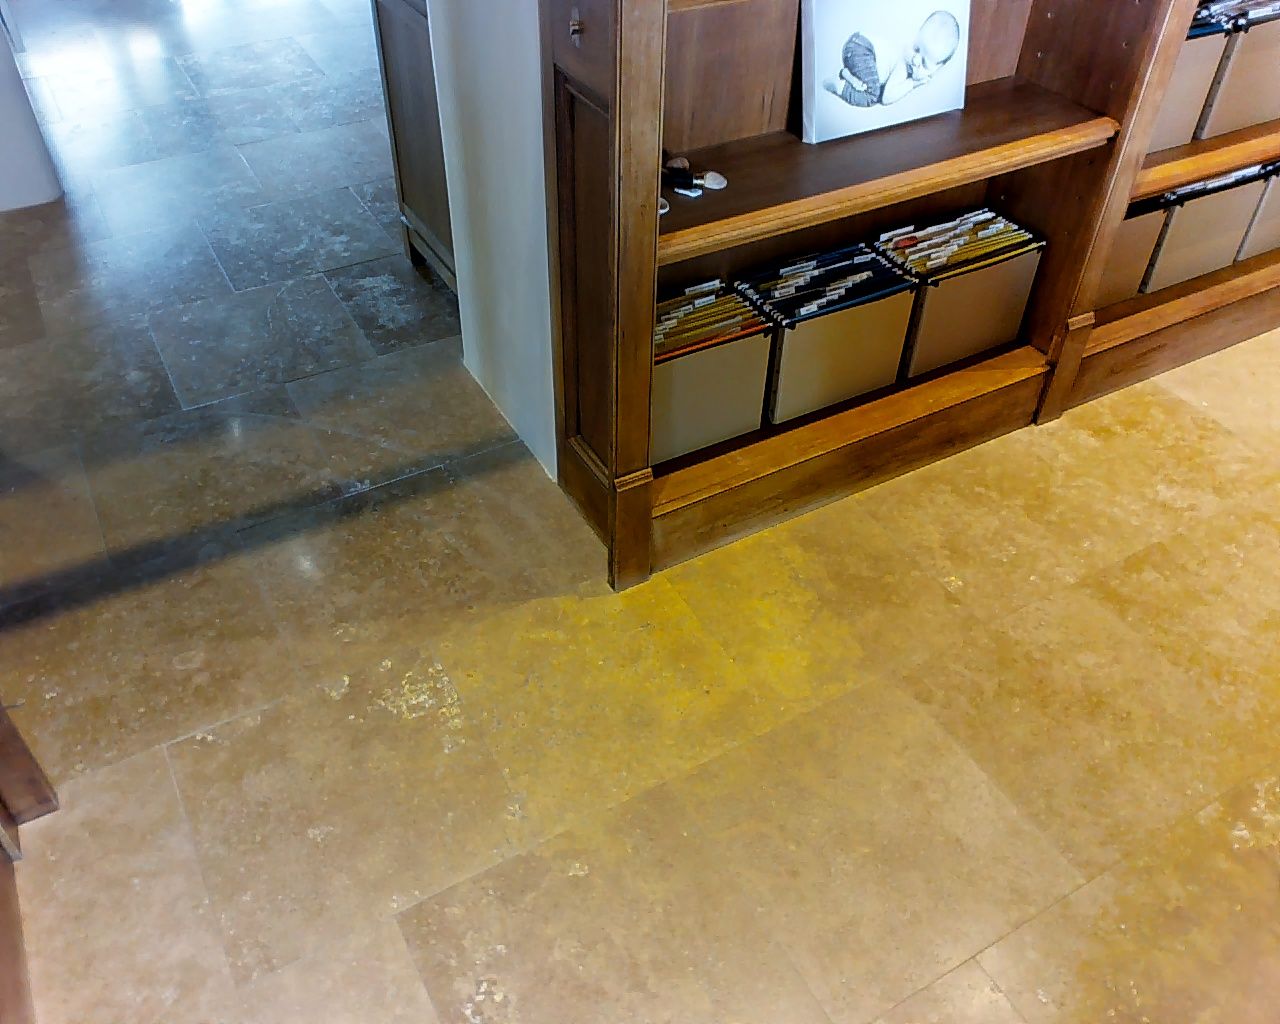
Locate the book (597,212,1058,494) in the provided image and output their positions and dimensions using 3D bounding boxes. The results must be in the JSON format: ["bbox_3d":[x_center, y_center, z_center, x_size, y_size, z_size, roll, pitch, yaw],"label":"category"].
[{"bbox_3d":[0.390,-0.350,2.190,0.950,0.240,0.250,-21,46,-23],"label":"book"}]

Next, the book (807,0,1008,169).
[{"bbox_3d":[0.480,-0.820,1.920,0.400,0.270,0.060,-27,48,-17],"label":"book"}]
